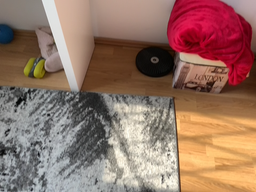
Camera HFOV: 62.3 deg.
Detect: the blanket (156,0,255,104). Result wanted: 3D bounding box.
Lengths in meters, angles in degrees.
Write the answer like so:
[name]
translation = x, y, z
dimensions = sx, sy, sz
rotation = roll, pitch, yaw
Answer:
[blanket]
translation = 0.440, -0.280, 1.230
dimensions = 0.470, 0.480, 0.410
rotation = 7, 57, 1
